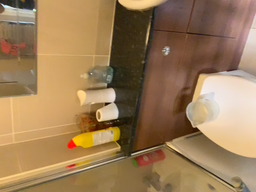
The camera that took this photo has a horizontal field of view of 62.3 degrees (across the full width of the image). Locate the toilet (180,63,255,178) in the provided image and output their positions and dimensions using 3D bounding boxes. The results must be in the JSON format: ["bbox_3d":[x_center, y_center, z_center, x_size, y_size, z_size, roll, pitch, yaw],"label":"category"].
[{"bbox_3d":[0.670,0.080,1.170,0.500,0.440,0.400,36,124,48],"label":"toilet"}]
